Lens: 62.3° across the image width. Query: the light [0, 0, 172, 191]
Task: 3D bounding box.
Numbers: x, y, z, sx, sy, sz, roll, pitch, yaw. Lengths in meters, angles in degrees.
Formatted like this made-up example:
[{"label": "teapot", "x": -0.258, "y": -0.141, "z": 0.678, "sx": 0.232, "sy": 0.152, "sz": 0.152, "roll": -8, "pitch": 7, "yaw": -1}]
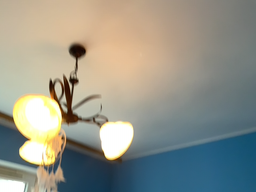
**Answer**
[{"label": "light", "x": -0.300, "y": 0.120, "z": 1.070, "sx": 0.580, "sy": 0.610, "sz": 0.900, "roll": 12, "pitch": -122, "yaw": -46}]
